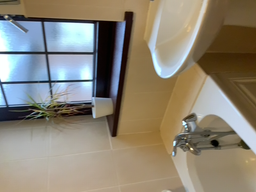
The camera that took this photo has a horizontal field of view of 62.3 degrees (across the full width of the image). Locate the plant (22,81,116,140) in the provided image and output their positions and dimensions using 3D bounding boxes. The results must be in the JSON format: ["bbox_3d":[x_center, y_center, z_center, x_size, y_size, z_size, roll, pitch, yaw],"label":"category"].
[{"bbox_3d":[-0.380,0.090,1.430,0.200,0.540,0.320,-109,22,-45],"label":"plant"}]

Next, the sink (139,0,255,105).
[{"bbox_3d":[0.230,-0.320,0.760,0.430,0.180,0.550,-108,22,-45],"label":"sink"}]
